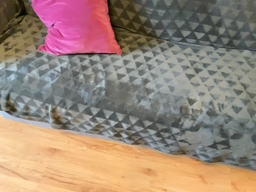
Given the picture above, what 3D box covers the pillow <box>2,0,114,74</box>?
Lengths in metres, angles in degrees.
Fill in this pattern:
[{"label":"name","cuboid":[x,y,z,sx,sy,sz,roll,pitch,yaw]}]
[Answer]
[{"label":"pillow","cuboid":[-0.350,-0.360,1.080,0.400,0.390,0.240,18,59,-34]}]
